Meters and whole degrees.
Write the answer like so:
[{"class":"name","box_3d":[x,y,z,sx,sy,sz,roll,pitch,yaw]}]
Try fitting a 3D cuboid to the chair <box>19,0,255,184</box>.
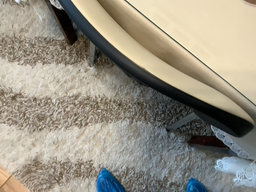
[{"class":"chair","box_3d":[0.140,-0.190,0.730,0.480,0.830,0.570,41,81,4]}]
